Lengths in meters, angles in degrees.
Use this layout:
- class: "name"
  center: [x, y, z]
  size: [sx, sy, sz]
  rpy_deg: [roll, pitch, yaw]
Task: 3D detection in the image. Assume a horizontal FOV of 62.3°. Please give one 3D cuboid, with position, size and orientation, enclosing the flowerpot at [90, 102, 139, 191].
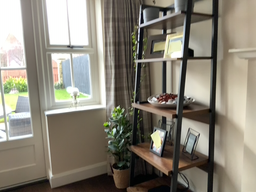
- class: "flowerpot"
  center: [-0.120, 0.520, 2.180]
  size: [0.260, 0.840, 0.440]
  rpy_deg: [4, 10, 34]

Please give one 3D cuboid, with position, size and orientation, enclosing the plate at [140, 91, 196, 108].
- class: "plate"
  center: [0.320, 0.020, 1.740]
  size: [0.300, 0.070, 0.340]
  rpy_deg: [-7, 10, -30]

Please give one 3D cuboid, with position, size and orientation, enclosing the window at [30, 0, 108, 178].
- class: "window"
  center: [-0.620, -0.240, 2.350]
  size: [0.700, 2.170, 0.140]
  rpy_deg: [-7, 10, -31]
